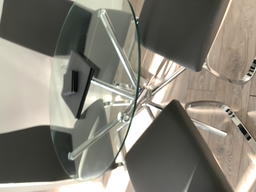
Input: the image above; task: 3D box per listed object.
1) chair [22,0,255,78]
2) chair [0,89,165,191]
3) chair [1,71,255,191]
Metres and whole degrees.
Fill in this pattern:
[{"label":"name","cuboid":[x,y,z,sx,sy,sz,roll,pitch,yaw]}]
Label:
[{"label":"chair","cuboid":[0.190,-0.480,0.860,0.400,0.990,0.590,38,116,48]},{"label":"chair","cuboid":[-0.350,0.330,1.450,0.540,1.010,0.460,-42,54,42]},{"label":"chair","cuboid":[0.130,0.330,0.830,0.480,1.010,0.540,-55,46,33]}]
